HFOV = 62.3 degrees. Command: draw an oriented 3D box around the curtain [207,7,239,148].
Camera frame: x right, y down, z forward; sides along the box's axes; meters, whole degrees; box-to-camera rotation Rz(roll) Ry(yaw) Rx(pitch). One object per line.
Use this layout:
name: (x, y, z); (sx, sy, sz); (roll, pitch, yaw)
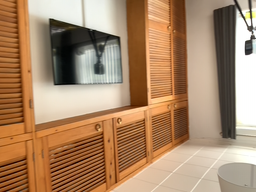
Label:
curtain: (1.390, -0.240, 3.090); (0.370, 1.920, 0.210); (0, -176, 35)
